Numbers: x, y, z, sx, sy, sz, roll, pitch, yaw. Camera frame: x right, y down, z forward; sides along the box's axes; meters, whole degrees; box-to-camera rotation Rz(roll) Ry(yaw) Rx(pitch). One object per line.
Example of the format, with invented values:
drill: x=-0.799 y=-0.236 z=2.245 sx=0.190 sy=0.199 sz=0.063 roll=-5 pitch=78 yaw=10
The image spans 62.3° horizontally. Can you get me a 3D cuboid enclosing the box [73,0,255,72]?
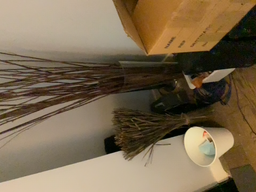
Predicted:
box: x=0.120 y=-0.440 z=0.760 sx=0.490 sy=0.500 sz=0.500 roll=-46 pitch=57 yaw=53

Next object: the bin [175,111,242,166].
bin: x=0.580 y=0.310 z=1.560 sx=0.250 sy=0.280 sz=0.290 roll=-49 pitch=54 yaw=52
